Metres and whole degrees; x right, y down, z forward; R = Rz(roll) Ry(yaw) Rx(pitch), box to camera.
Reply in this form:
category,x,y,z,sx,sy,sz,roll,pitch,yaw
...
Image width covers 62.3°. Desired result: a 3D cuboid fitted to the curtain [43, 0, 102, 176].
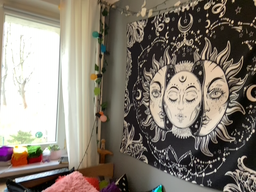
category,x,y,z,sx,sy,sz,roll,pitch,yaw
curtain,-0.530,-0.240,2.050,0.360,1.840,0.330,4,-1,-41
